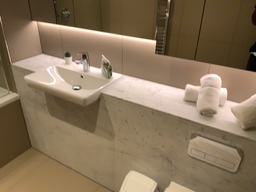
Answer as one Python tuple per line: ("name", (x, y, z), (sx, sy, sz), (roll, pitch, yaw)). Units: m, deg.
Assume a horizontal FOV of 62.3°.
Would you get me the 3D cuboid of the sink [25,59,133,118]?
("sink", (-0.330, -0.090, 1.530), (0.580, 0.110, 0.480), (16, 32, 24))
